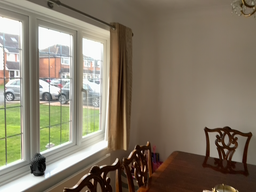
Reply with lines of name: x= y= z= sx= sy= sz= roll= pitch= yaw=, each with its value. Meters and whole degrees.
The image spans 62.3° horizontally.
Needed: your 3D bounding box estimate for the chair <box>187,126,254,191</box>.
chair: x=0.950 y=0.870 z=2.220 sx=0.540 sy=0.970 sz=0.500 roll=4 pitch=6 yaw=27
